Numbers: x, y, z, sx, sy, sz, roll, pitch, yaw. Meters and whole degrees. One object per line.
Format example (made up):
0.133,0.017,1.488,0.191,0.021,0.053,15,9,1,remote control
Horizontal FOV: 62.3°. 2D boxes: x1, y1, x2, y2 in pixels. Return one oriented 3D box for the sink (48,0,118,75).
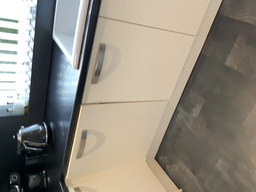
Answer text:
-0.300,-0.480,1.280,0.530,0.180,0.520,46,128,44,sink
